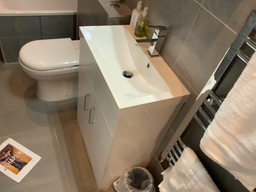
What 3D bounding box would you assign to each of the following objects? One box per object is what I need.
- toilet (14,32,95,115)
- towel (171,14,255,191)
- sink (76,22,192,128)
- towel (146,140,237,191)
[{"bbox_3d":[-0.610,-0.200,1.780,0.510,0.470,0.420,-11,51,-24],"label":"toilet"},{"bbox_3d":[0.360,0.070,0.620,0.150,0.490,0.320,-15,53,-27],"label":"towel"},{"bbox_3d":[-0.010,-0.160,1.100,0.360,0.130,0.620,-11,51,-24],"label":"sink"},{"bbox_3d":[0.270,0.480,1.030,0.120,0.510,0.280,-14,53,-26],"label":"towel"}]
